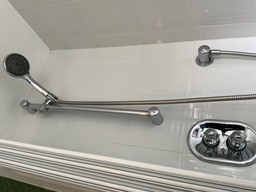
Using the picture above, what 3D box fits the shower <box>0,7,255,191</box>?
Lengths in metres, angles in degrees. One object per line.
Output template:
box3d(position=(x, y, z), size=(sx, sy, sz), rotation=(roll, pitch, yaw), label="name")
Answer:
box3d(position=(-0.010, 0.110, 1.100), size=(0.880, 1.160, 0.410), rotation=(57, -138, -54), label="shower")
